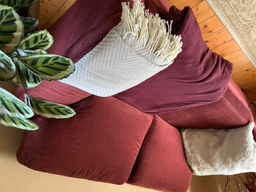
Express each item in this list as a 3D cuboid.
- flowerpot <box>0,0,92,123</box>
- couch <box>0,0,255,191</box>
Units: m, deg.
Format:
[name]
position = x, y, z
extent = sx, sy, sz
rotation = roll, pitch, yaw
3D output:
[flowerpot]
position = -0.530, -0.420, 0.930
extent = 0.540, 0.840, 0.510
rotation = 27, 141, -35
[couch]
position = 0.250, 0.160, 1.620
extent = 0.960, 0.960, 1.870
rotation = -24, 140, 37
